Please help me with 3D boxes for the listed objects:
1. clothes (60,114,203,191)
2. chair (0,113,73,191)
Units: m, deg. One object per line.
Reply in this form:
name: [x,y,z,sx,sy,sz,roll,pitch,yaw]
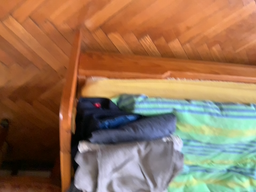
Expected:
clothes: [0.000,0.250,0.660,0.330,0.120,0.400,-2,129,-6]
chair: [-0.510,0.570,1.000,0.400,0.860,0.500,5,128,-12]
